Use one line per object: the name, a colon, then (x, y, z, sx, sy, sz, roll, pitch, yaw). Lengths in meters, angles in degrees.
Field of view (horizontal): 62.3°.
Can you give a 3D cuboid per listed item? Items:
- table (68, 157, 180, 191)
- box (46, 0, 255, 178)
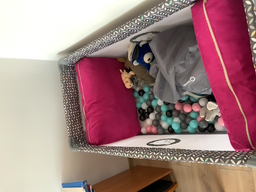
table: (0.010, 0.930, 1.660, 0.520, 0.690, 0.680, -10, 87, 45)
box: (0.140, -0.050, 1.400, 1.380, 0.710, 0.730, -10, 87, 45)
